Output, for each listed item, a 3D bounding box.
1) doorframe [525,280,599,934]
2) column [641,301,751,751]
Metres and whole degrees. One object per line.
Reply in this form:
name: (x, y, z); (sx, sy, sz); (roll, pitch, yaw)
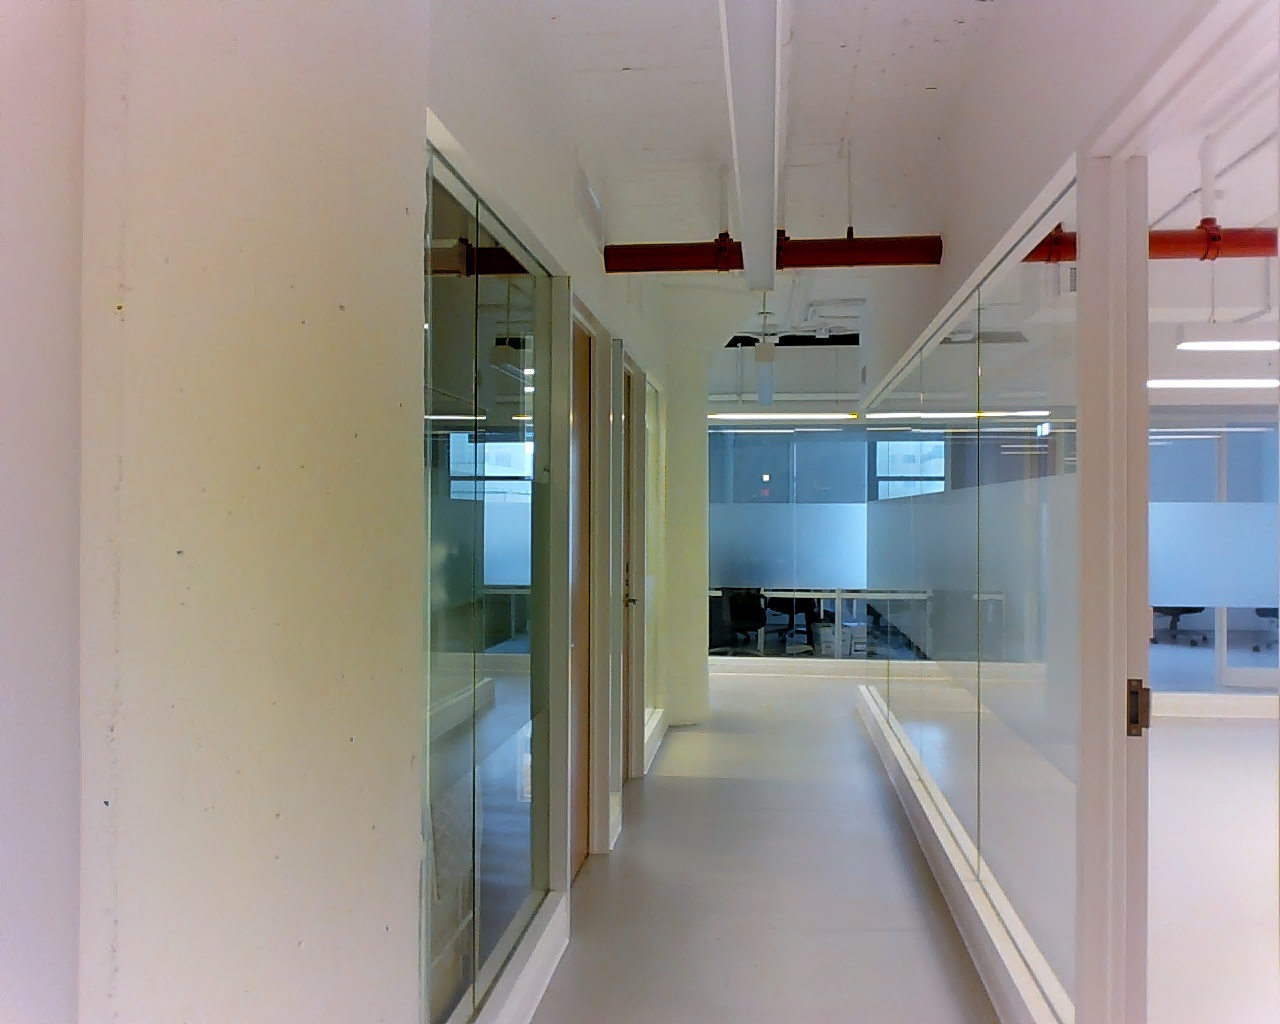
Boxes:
doorframe: (-0.290, 0.330, 4.200); (0.100, 2.271, 0.950); (0, 0, 6)
column: (0.430, 0.090, 7.560); (0.680, 2.861, 1.440); (0, 0, 6)
